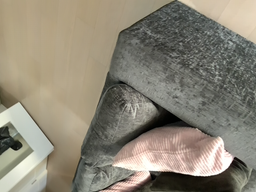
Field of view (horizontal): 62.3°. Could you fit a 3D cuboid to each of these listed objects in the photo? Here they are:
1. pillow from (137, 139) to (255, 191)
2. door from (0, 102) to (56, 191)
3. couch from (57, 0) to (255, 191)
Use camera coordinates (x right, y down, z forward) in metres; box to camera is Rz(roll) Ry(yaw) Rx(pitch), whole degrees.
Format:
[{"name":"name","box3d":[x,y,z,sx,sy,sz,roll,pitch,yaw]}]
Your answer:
[{"name":"pillow","box3d":[0.360,0.400,1.050,0.490,0.390,0.170,-2,104,55]},{"name":"door","box3d":[-1.830,0.960,2.480,0.050,1.970,0.870,-17,110,42]},{"name":"couch","box3d":[0.220,0.460,1.480,1.020,0.760,1.760,35,135,9]}]
